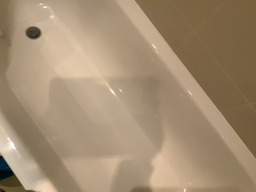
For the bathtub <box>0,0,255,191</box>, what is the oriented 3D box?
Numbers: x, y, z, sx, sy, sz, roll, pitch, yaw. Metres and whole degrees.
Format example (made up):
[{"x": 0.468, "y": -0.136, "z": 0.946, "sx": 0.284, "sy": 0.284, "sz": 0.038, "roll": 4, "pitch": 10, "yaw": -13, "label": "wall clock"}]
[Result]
[{"x": -0.170, "y": 0.080, "z": 1.010, "sx": 0.700, "sy": 0.570, "sz": 1.690, "roll": -36, "pitch": 88, "yaw": -21, "label": "bathtub"}]
